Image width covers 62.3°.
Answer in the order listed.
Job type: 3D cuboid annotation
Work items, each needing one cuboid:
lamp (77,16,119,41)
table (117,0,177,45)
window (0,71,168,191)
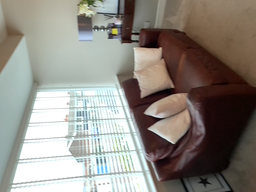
[{"bbox_3d":[-0.460,-1.020,3.200,0.350,0.580,0.260,-110,21,-55],"label":"lamp"},{"bbox_3d":[0.250,-1.260,3.150,0.490,0.730,0.840,-110,21,-55],"label":"table"},{"bbox_3d":[-0.650,0.440,2.920,2.710,1.620,0.320,-109,21,-54],"label":"window"}]
